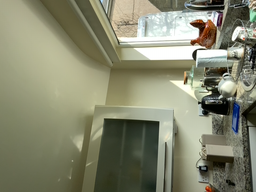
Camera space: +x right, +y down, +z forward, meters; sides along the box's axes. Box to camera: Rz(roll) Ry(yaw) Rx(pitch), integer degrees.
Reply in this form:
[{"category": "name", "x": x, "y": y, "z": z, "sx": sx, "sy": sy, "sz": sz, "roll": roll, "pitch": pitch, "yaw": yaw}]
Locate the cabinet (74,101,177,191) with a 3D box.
[{"category": "cabinet", "x": 0.010, "y": 0.600, "z": 1.840, "sx": 0.360, "sy": 0.780, "sz": 1.020, "roll": 57, "pitch": -143, "yaw": -68}]
